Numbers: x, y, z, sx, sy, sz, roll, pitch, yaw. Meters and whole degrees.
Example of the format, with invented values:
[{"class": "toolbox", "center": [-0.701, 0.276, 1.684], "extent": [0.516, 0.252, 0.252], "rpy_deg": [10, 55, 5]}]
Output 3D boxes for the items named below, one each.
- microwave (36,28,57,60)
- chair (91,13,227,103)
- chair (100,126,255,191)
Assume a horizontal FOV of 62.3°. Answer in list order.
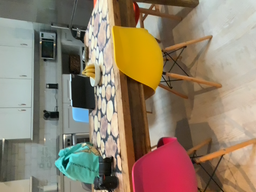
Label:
[{"class": "microwave", "center": [-1.520, -0.950, 3.940], "extent": [0.250, 0.340, 0.510], "rpy_deg": [178, 92, -67]}, {"class": "chair", "center": [0.190, -0.210, 1.570], "extent": [0.530, 0.790, 0.410], "rpy_deg": [144, 124, -62]}, {"class": "chair", "center": [0.300, 0.460, 1.280], "extent": [0.530, 0.790, 0.430], "rpy_deg": [140, 127, -61]}]
